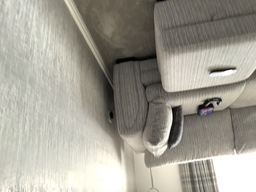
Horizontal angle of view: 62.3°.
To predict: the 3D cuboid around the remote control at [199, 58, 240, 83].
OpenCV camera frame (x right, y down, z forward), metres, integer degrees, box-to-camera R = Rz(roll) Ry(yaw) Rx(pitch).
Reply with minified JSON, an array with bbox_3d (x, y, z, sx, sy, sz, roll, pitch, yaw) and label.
[{"bbox_3d":[0.580,-0.160,1.360,0.210,0.070,0.130,-8,156,6],"label":"remote control"}]
